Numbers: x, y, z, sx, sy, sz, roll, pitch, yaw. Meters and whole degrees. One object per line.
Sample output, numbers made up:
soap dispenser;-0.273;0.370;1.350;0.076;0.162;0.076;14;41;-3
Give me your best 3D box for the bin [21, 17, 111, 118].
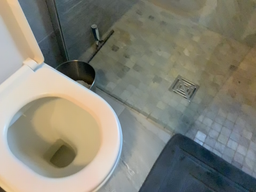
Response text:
bin;-0.270;-0.130;1.050;0.250;0.330;0.280;31;60;14
